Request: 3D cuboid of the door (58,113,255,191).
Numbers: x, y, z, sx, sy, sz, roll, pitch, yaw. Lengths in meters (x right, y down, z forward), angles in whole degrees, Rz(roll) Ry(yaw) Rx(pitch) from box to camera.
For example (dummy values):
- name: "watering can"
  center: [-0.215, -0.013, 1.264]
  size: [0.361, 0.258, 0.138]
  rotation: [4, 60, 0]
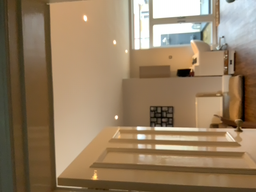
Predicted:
- name: "door"
  center: [0.840, 0.300, 1.380]
  size: [0.940, 2.280, 0.140]
  rotation: [-49, -43, -76]

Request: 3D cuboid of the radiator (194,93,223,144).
- name: "radiator"
  center: [1.960, 0.540, 5.200]
  size: [0.220, 0.640, 1.210]
  rotation: [-30, -61, -79]
